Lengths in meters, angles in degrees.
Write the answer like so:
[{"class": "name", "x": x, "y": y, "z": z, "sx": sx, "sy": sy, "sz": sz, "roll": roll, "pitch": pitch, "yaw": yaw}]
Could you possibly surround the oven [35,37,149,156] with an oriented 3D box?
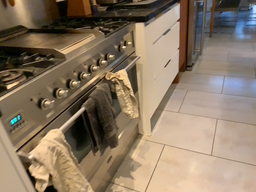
[{"class": "oven", "x": -0.230, "y": -0.020, "z": 1.660, "sx": 0.660, "sy": 0.760, "sz": 0.380, "roll": 9, "pitch": 34, "yaw": 24}]
